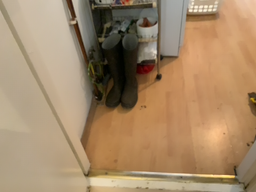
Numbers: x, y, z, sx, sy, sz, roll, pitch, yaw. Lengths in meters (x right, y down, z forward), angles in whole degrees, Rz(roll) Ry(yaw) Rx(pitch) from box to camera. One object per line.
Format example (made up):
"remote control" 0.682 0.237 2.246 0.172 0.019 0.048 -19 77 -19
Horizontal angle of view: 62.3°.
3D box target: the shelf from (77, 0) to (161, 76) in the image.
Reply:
"shelf" -0.030 -0.470 1.360 0.450 0.680 0.240 0 47 5
